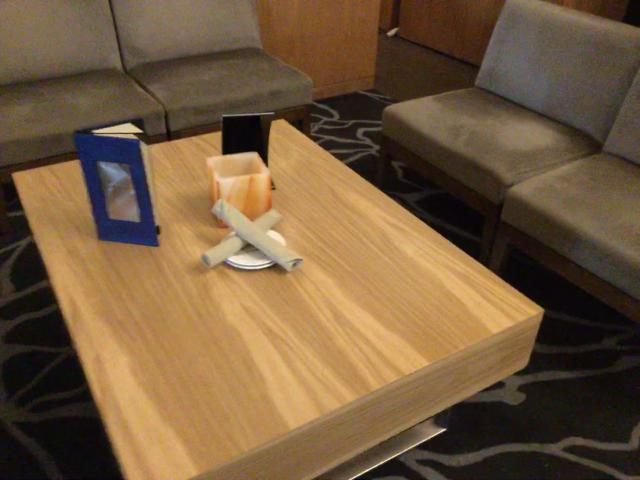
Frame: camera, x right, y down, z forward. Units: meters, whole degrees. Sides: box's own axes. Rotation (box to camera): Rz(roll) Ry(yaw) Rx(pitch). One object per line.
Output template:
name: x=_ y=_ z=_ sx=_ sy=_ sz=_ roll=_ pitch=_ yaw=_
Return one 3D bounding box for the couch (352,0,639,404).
couch: x=0.930 y=-0.300 z=2.050 sx=0.860 sy=0.820 sz=1.510 roll=-19 pitch=39 yaw=-28

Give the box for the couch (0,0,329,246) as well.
couch: x=-0.830 y=-0.710 z=2.530 sx=1.520 sy=0.820 sz=0.820 roll=-19 pitch=39 yaw=-28

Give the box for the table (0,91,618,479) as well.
table: x=-0.190 y=0.110 z=1.590 sx=1.060 sy=0.460 sz=1.380 roll=-19 pitch=39 yaw=-28
